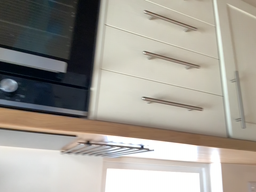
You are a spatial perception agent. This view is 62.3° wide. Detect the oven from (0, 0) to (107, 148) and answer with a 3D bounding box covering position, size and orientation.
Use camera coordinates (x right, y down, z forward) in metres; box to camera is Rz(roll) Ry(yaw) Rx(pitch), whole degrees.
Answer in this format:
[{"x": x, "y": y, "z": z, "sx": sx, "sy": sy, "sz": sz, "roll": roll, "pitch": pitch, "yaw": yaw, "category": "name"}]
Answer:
[{"x": -0.470, "y": -0.300, "z": 0.840, "sx": 0.600, "sy": 0.910, "sz": 0.610, "roll": 10, "pitch": 159, "yaw": -23, "category": "oven"}]
